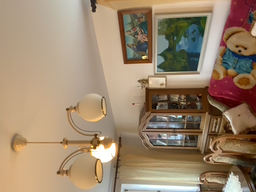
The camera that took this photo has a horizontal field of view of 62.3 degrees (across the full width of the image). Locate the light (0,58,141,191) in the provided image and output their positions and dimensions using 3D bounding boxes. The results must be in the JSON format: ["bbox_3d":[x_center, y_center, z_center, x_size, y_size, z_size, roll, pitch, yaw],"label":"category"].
[{"bbox_3d":[-0.370,0.290,1.220,0.670,0.610,0.610,-15,-31,30],"label":"light"}]

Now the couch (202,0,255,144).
[{"bbox_3d":[1.570,-0.520,2.450,0.820,1.150,2.190,-1,-42,6],"label":"couch"}]
